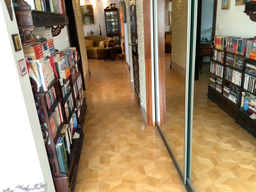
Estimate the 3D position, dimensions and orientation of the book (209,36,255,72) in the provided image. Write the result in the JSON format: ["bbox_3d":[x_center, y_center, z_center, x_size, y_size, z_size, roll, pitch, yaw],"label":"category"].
[{"bbox_3d":[1.540,-0.680,3.230,0.180,0.370,1.070,-3,20,0],"label":"book"}]
